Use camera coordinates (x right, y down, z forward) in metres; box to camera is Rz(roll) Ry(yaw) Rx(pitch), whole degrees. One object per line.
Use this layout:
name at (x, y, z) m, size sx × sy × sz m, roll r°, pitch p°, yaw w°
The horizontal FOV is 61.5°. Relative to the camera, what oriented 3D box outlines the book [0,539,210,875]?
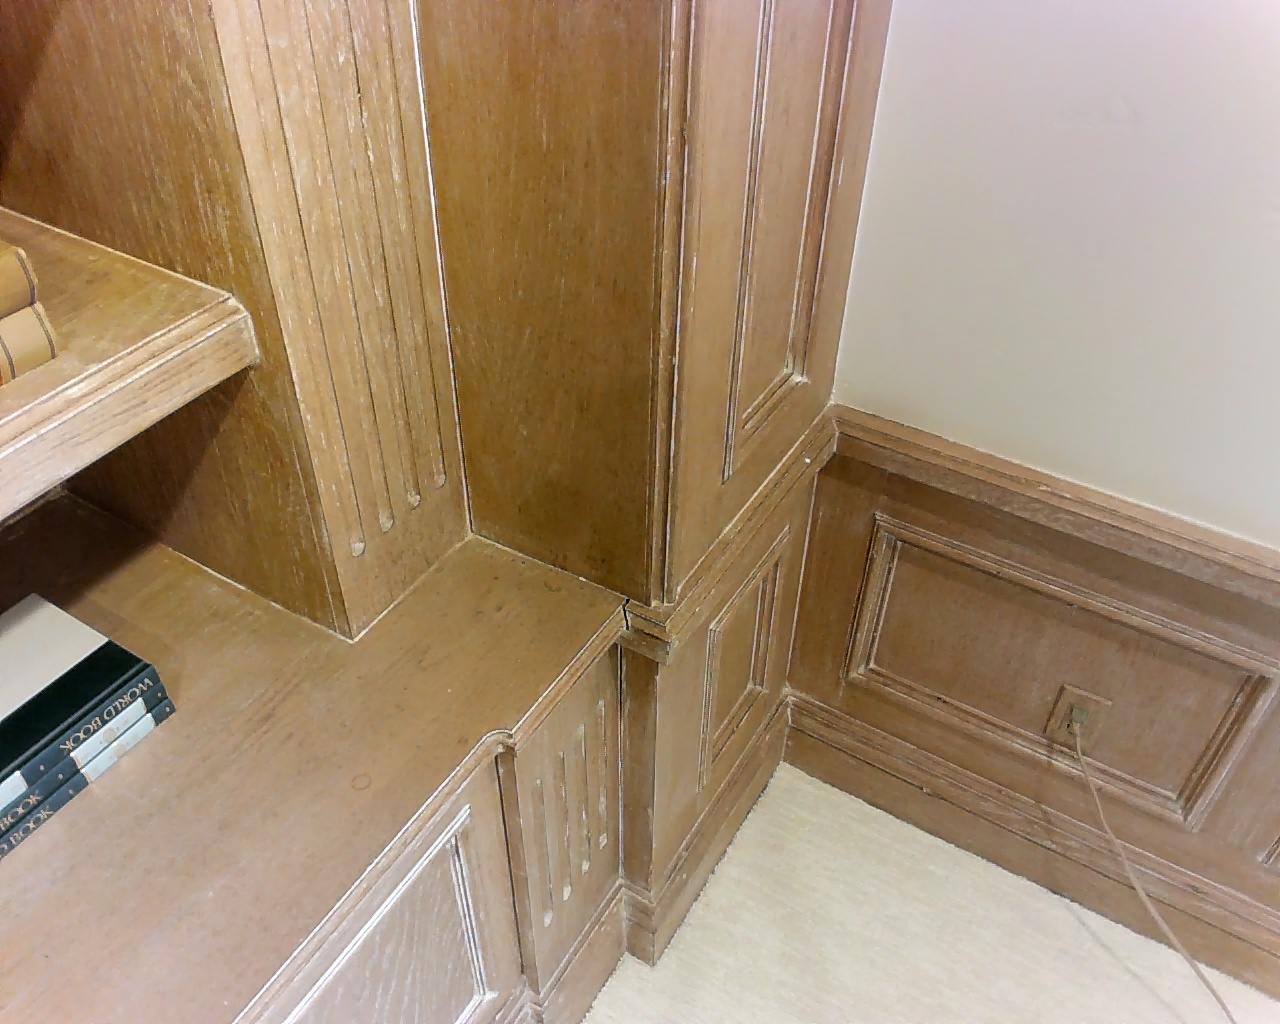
book at (-0.650, 0.190, 1.050) m, size 0.300 × 0.070 × 0.300 m, roll 21°, pitch 45°, yaw 21°
